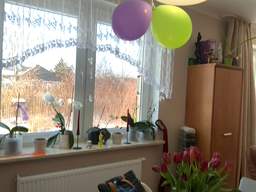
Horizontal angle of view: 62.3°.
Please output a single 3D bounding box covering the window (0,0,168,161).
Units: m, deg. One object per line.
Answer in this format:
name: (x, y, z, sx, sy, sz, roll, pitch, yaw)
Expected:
window: (-0.440, -0.260, 2.210, 1.920, 1.560, 0.340, 2, 2, -34)
